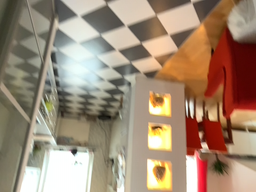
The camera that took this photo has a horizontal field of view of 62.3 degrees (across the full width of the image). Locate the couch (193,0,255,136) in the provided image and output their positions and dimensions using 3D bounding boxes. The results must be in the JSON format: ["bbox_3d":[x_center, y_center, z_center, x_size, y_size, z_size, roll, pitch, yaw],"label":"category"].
[{"bbox_3d":[1.080,-0.220,1.960,0.680,1.010,0.950,1,160,5],"label":"couch"}]
